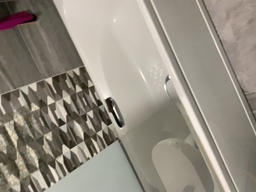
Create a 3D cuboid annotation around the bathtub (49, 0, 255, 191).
[{"bbox_3d":[0.210,-0.120,1.380,0.680,0.560,1.630,-22,96,51],"label":"bathtub"}]
